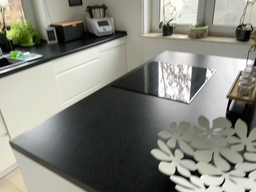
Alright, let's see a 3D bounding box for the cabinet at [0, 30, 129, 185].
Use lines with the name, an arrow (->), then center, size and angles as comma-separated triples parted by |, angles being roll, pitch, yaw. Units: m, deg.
cabinet -> -1.090, 0.050, 2.260 | 0.650, 0.940, 3.010 | 15, 31, 30
